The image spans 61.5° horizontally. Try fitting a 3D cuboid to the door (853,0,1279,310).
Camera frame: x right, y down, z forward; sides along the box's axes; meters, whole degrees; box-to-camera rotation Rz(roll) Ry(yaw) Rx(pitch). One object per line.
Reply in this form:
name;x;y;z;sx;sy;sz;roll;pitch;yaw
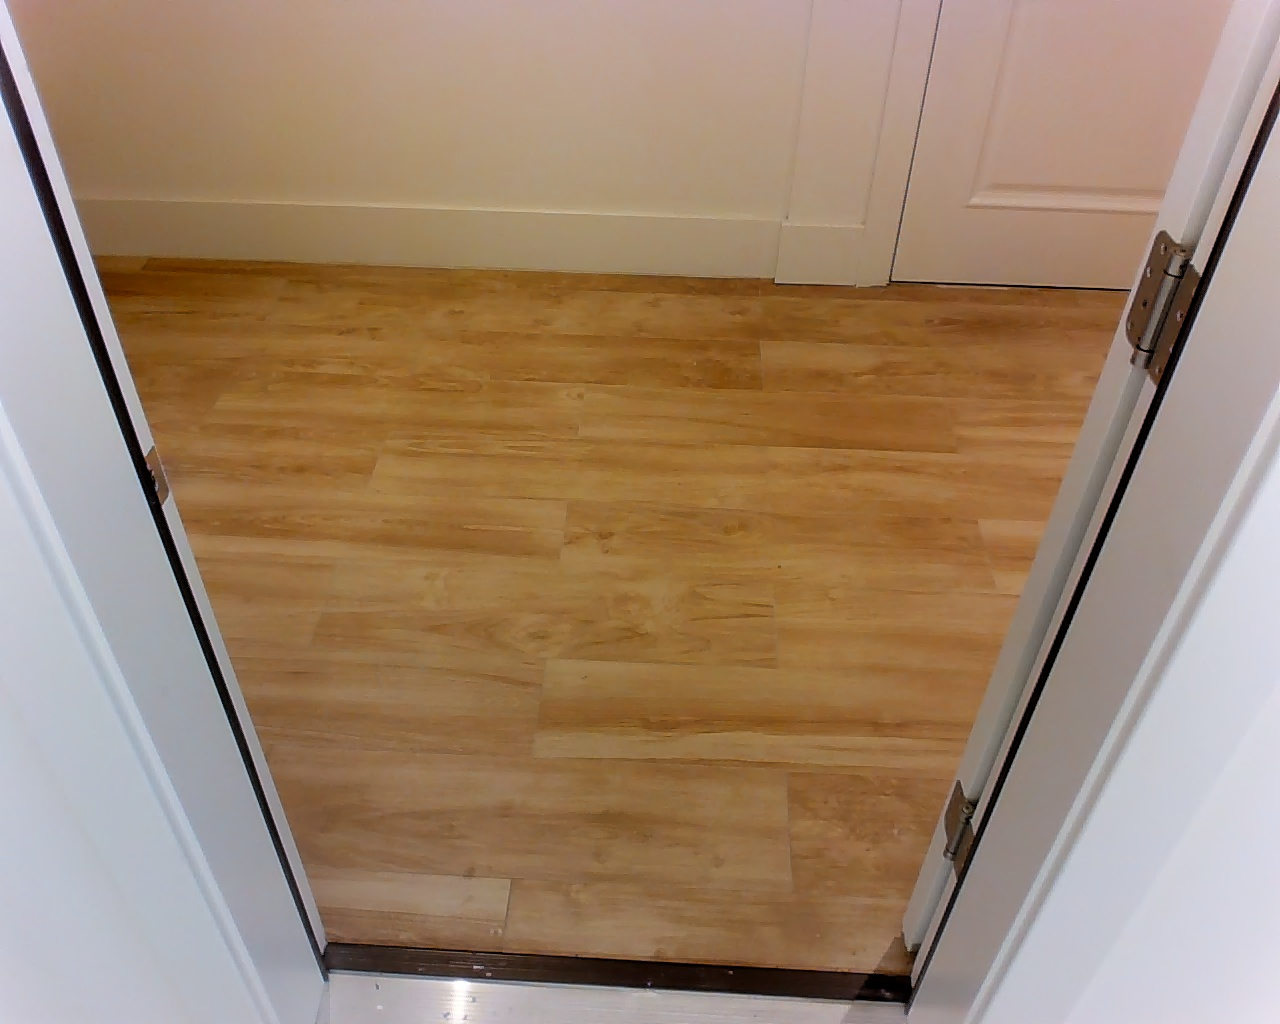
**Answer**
door;1.180;-1.450;2.340;1.100;2.220;0.060;3;41;2
